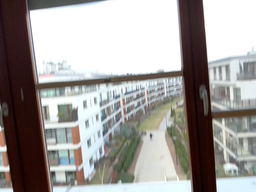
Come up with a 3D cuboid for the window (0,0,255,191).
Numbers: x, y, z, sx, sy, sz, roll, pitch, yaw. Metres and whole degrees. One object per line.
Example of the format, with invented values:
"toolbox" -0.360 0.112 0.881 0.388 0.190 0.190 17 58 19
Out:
"window" -0.130 -0.040 1.150 3.060 1.660 0.210 -5 4 3
